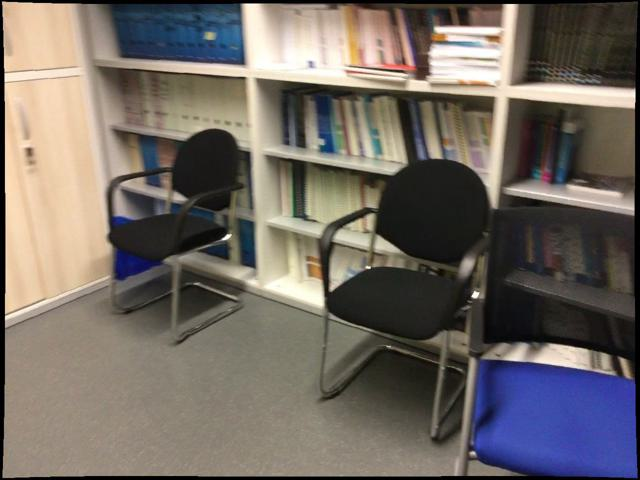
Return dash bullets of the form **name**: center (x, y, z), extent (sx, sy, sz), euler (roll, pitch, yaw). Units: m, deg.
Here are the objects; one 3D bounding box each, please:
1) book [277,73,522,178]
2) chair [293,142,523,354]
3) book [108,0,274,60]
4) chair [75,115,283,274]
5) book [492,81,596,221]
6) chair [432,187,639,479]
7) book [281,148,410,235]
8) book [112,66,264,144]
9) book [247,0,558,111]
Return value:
- **book**: center (0.320, -0.561, 2.680), extent (1.099, 0.330, 0.270), euler (14, 26, 32)
- **chair**: center (0.350, -0.030, 2.210), extent (0.560, 0.490, 0.740), euler (14, 26, 32)
- **book**: center (-0.719, -1.191, 3.160), extent (0.939, 0.340, 0.310), euler (14, 26, 32)
- **chair**: center (-0.639, -0.270, 2.810), extent (0.540, 0.510, 0.780), euler (14, 26, 32)
- **book**: center (0.869, -0.360, 2.240), extent (0.220, 0.440, 0.420), euler (14, 26, 32)
- **chair**: center (0.679, 0.400, 1.610), extent (0.619, 0.881, 0.710), euler (7, 23, 17)
- **book**: center (0.120, -0.260, 2.900), extent (0.600, 0.290, 0.240), euler (14, 26, 32)
- **book**: center (-0.739, -0.751, 3.140), extent (1.039, 0.320, 0.100), euler (14, 26, 32)
- **book**: center (0.300, -0.861, 2.460), extent (1.229, 0.450, 0.420), euler (14, 26, 32)
